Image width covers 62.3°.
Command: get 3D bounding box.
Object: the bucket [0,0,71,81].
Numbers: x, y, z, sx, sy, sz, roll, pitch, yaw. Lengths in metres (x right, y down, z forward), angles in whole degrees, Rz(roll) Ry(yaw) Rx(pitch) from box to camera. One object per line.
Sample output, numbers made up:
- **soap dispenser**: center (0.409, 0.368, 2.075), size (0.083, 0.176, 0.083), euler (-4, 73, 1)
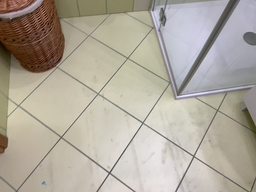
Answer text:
- **bucket**: center (-0.580, -0.450, 1.220), size (0.360, 0.580, 0.450), euler (-8, 65, -7)
